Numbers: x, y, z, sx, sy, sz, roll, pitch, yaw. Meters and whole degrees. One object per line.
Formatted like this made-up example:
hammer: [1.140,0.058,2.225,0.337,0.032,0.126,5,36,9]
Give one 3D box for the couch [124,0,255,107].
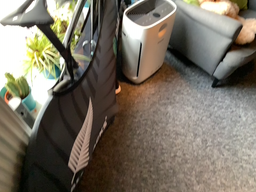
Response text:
couch: [0.610,-0.700,1.530,0.930,0.980,0.820,37,63,19]
